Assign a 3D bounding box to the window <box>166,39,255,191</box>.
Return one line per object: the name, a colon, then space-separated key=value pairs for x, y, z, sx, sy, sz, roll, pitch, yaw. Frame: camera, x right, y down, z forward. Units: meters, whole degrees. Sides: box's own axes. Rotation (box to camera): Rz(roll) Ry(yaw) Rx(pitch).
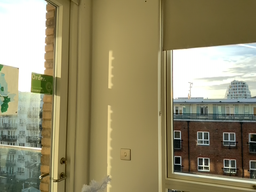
window: x=0.980 y=0.640 z=1.530 sx=1.350 sy=2.060 sz=0.320 roll=-1 pitch=-4 yaw=25
